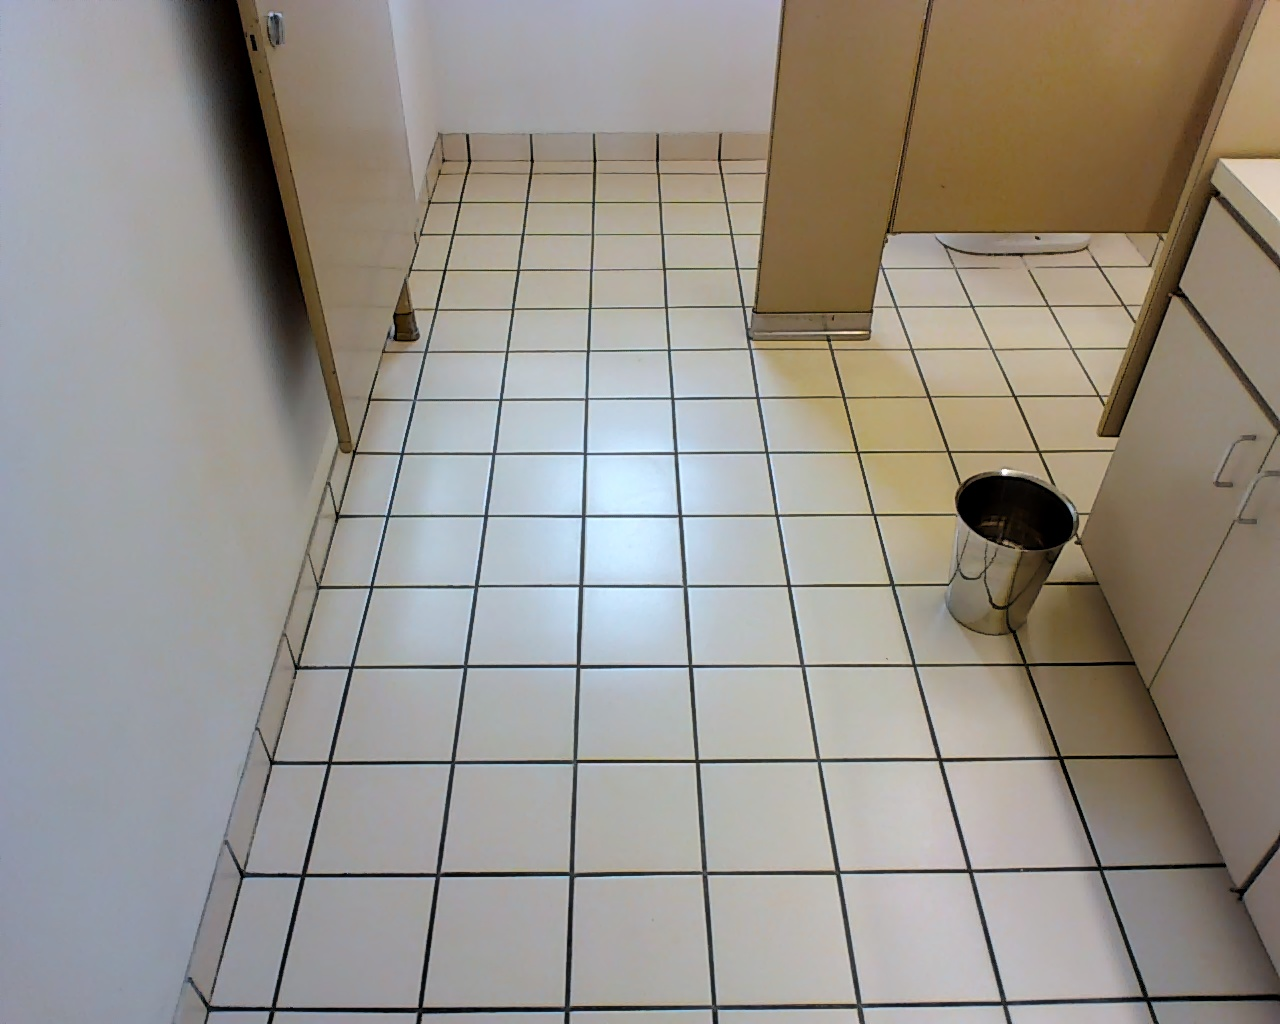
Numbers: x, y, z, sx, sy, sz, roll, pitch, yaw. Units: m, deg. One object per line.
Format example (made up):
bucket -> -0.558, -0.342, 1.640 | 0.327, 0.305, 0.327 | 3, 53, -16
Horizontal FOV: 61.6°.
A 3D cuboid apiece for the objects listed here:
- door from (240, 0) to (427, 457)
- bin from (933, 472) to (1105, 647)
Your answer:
door -> -0.530, -0.960, 1.810 | 0.040, 1.510, 0.890 | 0, 42, -1
bin -> 0.700, 0.090, 2.020 | 0.200, 0.250, 0.200 | -3, 42, -4
